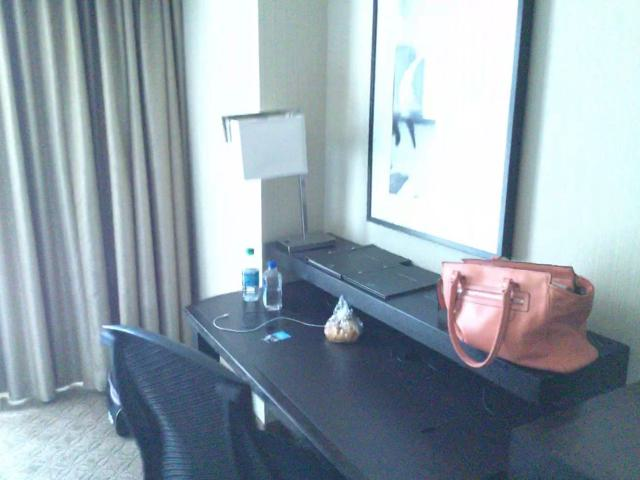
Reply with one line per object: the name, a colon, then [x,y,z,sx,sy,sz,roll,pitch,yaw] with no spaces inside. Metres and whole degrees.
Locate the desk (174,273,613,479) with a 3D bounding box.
desk: [0.070,0.660,1.850,0.620,0.960,1.450,-5,3,-30]

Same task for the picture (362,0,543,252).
picture: [0.360,-0.440,1.750,0.090,0.910,0.690,-5,4,-27]

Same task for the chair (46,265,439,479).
chair: [-0.170,0.660,1.490,0.650,1.030,0.700,7,11,40]

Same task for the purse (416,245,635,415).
purse: [0.460,0.180,1.360,0.280,0.270,0.390,-4,9,-27]
